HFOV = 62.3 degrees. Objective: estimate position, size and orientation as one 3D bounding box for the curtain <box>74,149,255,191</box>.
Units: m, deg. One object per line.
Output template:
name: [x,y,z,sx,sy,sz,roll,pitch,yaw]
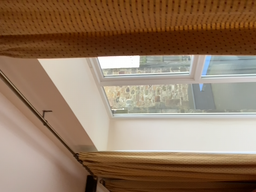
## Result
curtain: [0.810,0.830,2.220,0.850,2.550,0.200,79,-168,-55]
